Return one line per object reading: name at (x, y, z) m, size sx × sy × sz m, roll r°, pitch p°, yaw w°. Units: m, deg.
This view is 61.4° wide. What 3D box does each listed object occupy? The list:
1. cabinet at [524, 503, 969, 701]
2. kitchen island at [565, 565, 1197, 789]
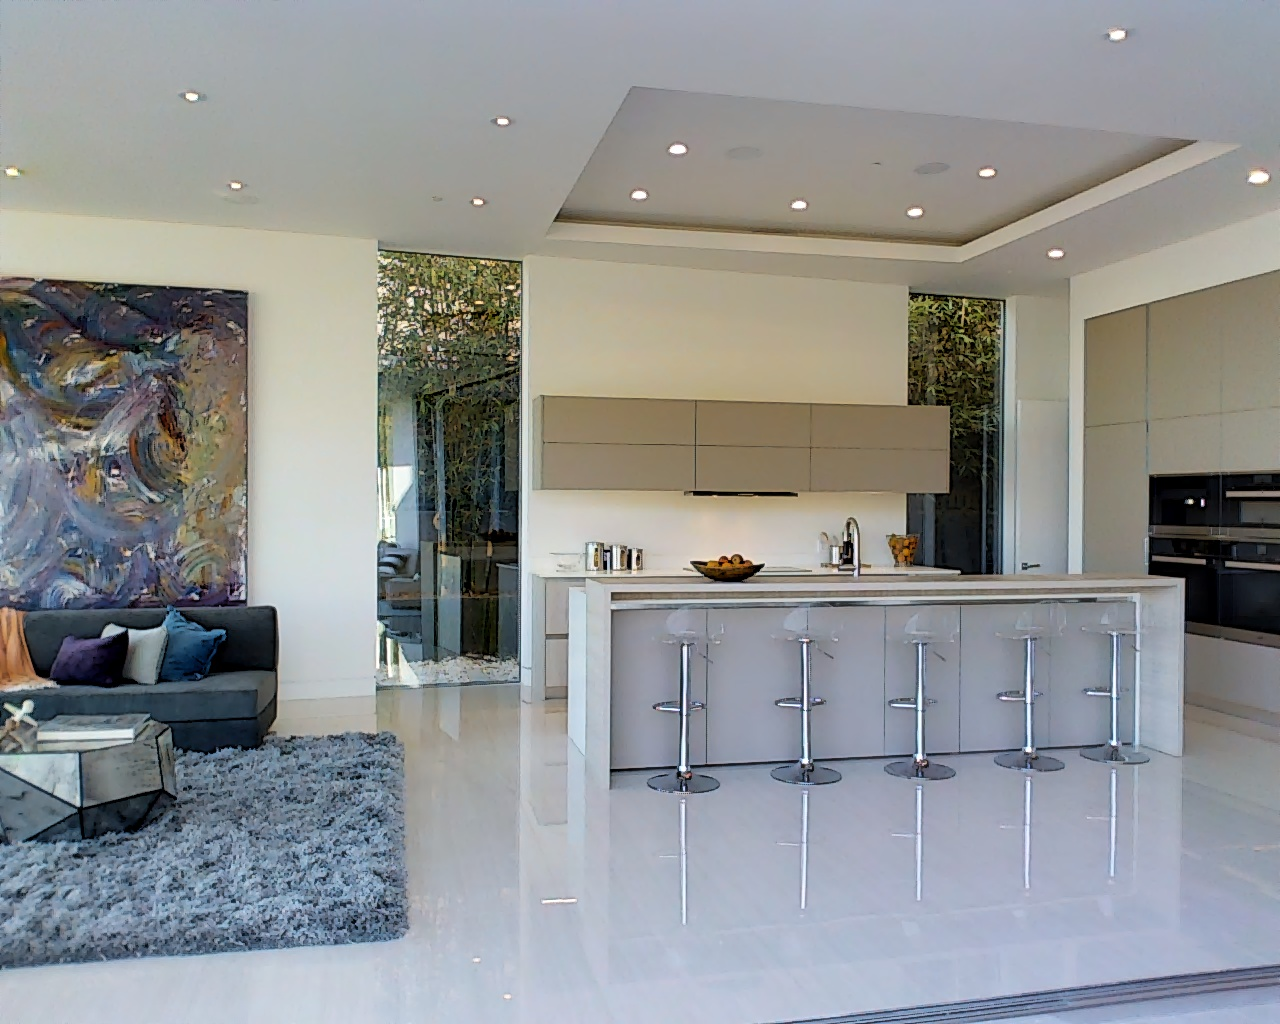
cabinet at (0.850, 0.670, 8.860) m, size 3.490 × 1.470 × 1.020 m, roll 0°, pitch 0°, yaw -13°
kitchen island at (1.390, 0.900, 6.580) m, size 3.520 × 1.050 × 1.360 m, roll 0°, pitch 0°, yaw -13°
